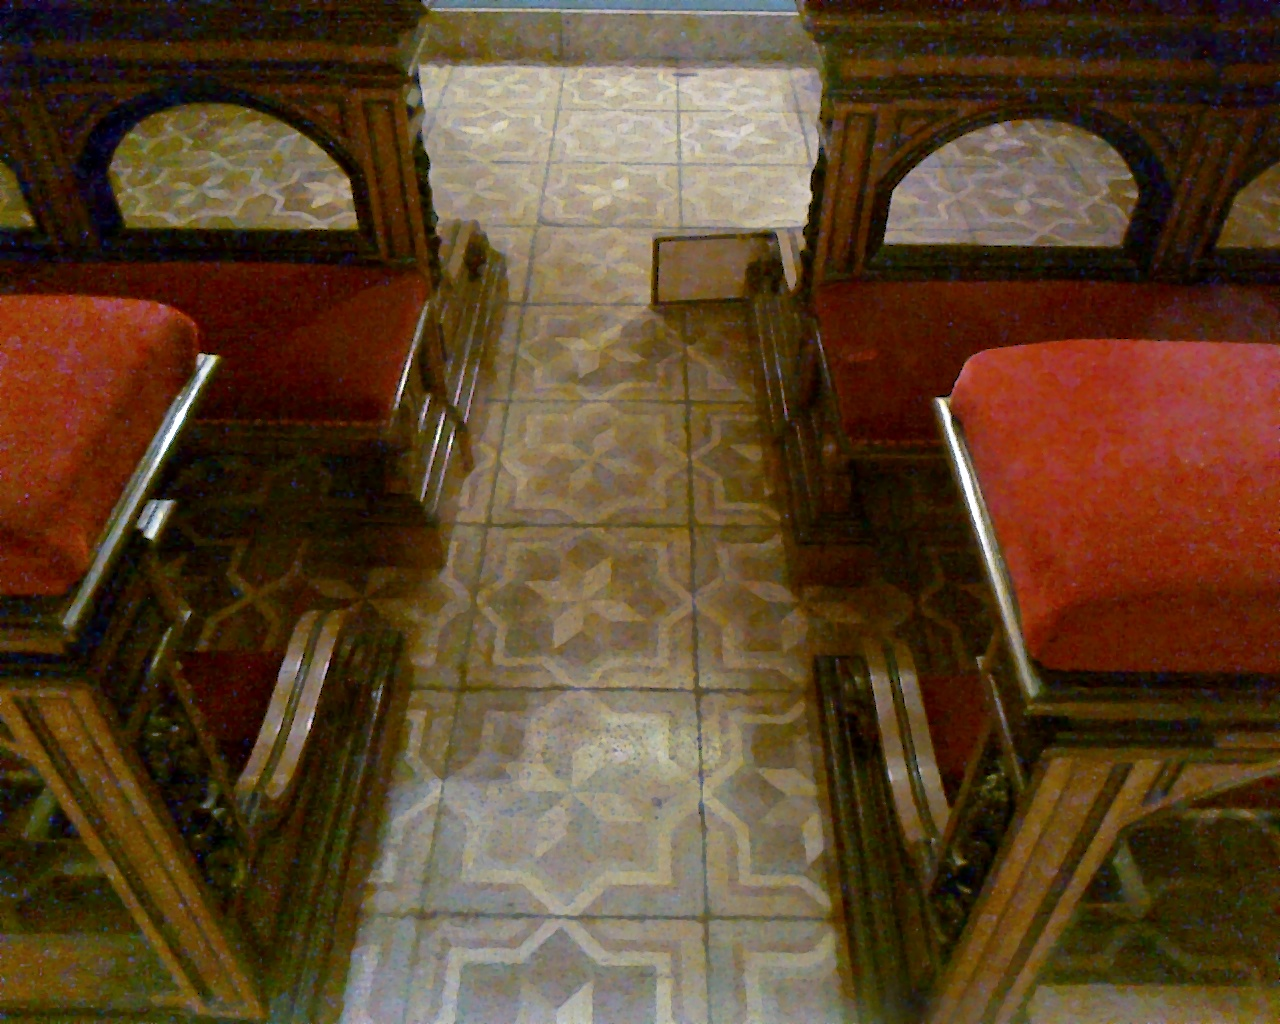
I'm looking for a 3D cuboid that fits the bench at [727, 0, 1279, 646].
[{"bbox_3d":[0.970,-0.530,1.960,1.529,1.010,1.150,1,42,1],"label":"bench"}]

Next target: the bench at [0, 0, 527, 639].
[{"bbox_3d":[-1.050,-0.560,1.980,1.499,1.030,1.160,1,42,1],"label":"bench"}]
